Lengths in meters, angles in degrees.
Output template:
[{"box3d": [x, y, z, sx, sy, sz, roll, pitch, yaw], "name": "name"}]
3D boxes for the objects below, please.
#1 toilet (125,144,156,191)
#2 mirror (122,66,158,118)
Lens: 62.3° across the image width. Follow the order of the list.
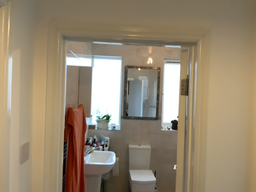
[{"box3d": [0.180, 1.230, 3.340, 0.390, 0.810, 0.610, 2, 1, -4], "name": "toilet"}, {"box3d": [0.200, -0.060, 3.640, 0.580, 0.870, 0.080, 2, 1, -3], "name": "mirror"}]
